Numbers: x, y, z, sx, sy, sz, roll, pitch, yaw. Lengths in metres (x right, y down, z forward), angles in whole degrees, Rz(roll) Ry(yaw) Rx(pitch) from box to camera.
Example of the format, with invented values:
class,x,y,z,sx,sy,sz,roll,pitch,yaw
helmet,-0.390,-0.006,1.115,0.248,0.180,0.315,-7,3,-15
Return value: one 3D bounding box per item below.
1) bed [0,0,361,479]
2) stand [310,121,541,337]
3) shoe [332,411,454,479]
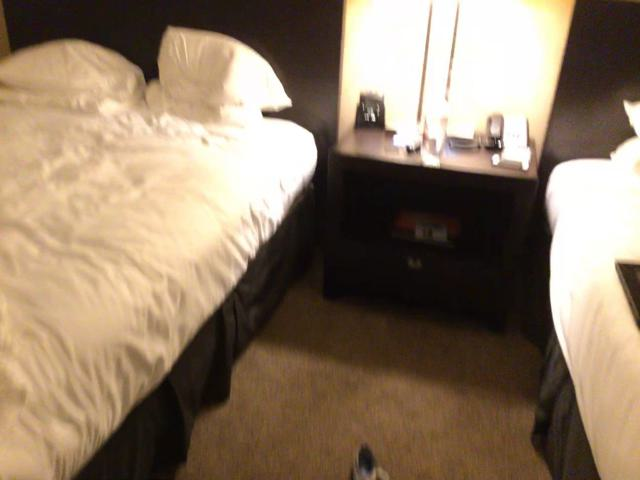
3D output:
class,x,y,z,sx,sy,sz,roll,pitch,yaw
bed,-0.950,-0.290,1.800,1.690,1.490,2.140,10,27,11
stand,0.420,-0.080,2.400,0.780,0.630,0.530,9,26,12
shoe,0.180,0.700,1.530,0.310,0.070,0.550,10,27,11
